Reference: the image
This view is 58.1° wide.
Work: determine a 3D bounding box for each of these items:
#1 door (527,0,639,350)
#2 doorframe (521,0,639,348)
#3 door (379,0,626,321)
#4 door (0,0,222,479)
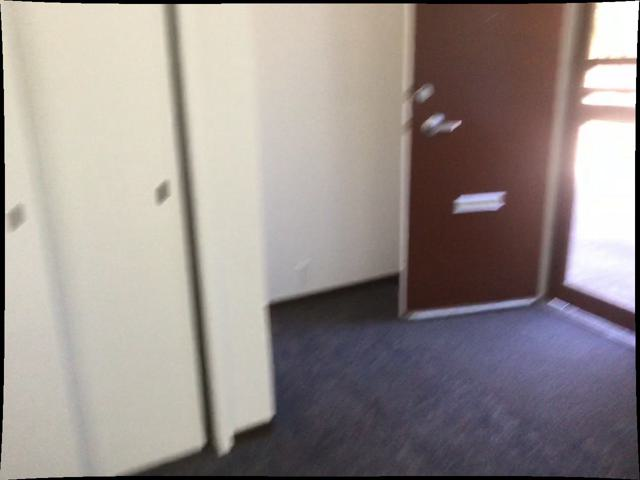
[{"bbox_3d":[1.428,-0.511,2.700,0.240,1.943,0.770,-12,22,-24],"label":"door"},{"bbox_3d":[1.438,-0.541,2.660,0.230,2.013,0.940,-12,22,-24],"label":"doorframe"},{"bbox_3d":[0.869,-0.591,2.970,1.058,1.963,0.410,-4,20,-3],"label":"door"},{"bbox_3d":[-0.978,-0.020,1.700,1.169,1.923,0.210,-12,22,-24],"label":"door"}]
